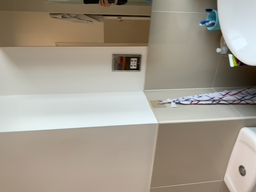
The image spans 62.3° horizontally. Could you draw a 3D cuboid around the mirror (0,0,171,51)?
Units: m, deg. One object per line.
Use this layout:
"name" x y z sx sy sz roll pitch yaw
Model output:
"mirror" -0.220 -0.510 0.850 0.060 0.830 0.650 -110 20 -61
